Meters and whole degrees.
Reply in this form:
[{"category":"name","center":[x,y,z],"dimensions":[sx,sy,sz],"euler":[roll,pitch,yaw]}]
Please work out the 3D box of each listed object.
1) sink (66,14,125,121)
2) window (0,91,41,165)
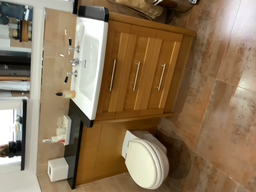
[{"category":"sink","center":[-0.280,-0.230,1.620],"dimensions":[0.460,0.170,0.690],"euler":[34,118,49]},{"category":"window","center":[-1.260,0.270,1.640],"dimensions":[0.240,1.020,0.570],"euler":[33,118,50]}]
